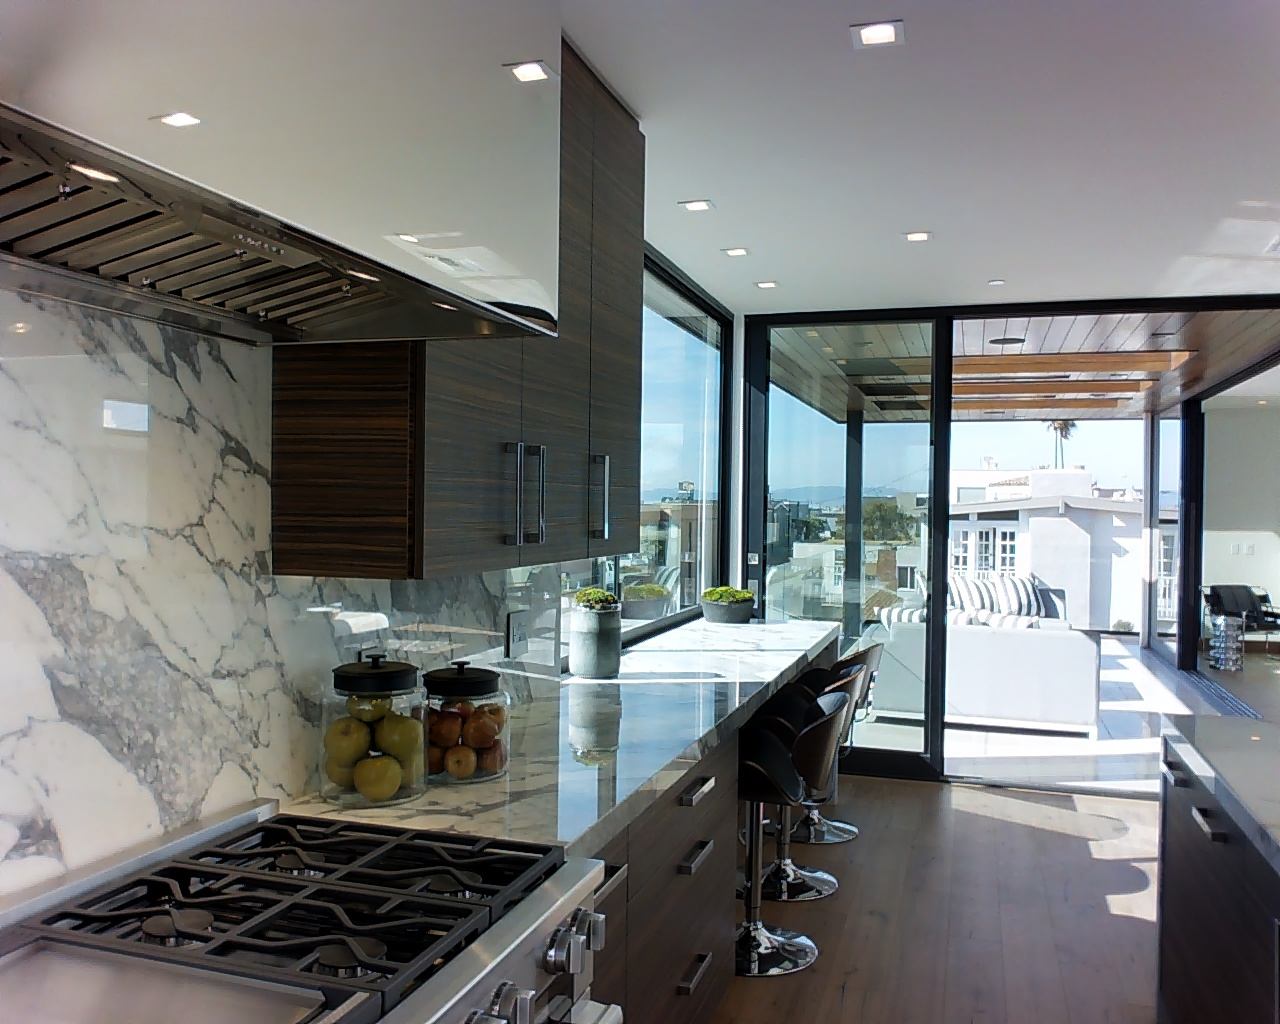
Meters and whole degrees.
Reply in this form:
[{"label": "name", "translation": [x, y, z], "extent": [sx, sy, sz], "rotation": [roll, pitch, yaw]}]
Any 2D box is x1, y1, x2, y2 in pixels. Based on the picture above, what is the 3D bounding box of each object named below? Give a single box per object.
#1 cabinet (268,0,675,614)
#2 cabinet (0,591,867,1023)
[{"label": "cabinet", "translation": [-0.300, -0.490, 2.730], "extent": [0.360, 1.340, 1.530], "rotation": [1, 0, 18]}, {"label": "cabinet", "translation": [-0.270, 0.990, 2.360], "extent": [0.750, 1.080, 7.300], "rotation": [1, 0, 18]}]
